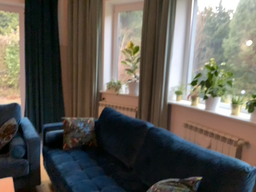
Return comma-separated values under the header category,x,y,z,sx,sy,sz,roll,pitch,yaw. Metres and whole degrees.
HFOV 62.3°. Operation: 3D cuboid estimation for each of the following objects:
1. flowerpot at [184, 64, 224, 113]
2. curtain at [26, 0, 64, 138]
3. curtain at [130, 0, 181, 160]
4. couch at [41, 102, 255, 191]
category,x,y,z,sx,sy,sz,roll,pitch,yaw
flowerpot,0.970,-0.110,2.740,0.230,0.580,0.370,-3,11,-34
curtain,-1.610,-0.680,4.120,0.610,2.910,0.350,-2,10,-30
curtain,0.410,-0.480,3.350,0.210,2.850,0.670,-5,12,-41
couch,-0.110,0.730,2.000,0.920,0.920,2.190,-2,10,-33
